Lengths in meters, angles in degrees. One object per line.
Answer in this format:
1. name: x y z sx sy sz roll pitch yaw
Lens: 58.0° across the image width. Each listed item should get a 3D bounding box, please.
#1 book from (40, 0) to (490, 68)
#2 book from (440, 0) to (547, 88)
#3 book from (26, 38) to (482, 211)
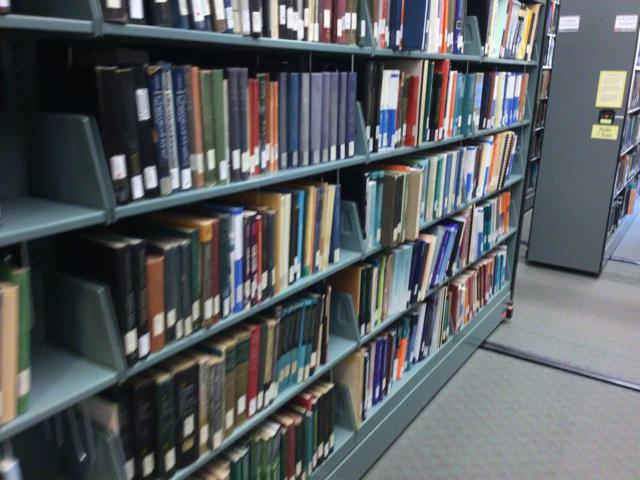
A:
1. book: 0.090 -0.690 1.620 0.320 0.290 1.730 8 15 29
2. book: 0.840 -0.900 2.720 0.260 0.330 0.810 9 15 30
3. book: 0.080 -0.370 1.760 0.260 0.270 1.870 9 15 30
